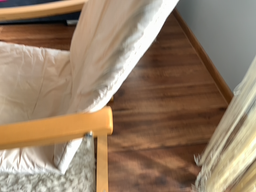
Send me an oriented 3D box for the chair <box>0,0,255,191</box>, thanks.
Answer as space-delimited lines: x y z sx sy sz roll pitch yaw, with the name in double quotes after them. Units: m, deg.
-0.280 -0.130 0.590 0.760 0.980 0.610 -2 47 -5 "chair"
